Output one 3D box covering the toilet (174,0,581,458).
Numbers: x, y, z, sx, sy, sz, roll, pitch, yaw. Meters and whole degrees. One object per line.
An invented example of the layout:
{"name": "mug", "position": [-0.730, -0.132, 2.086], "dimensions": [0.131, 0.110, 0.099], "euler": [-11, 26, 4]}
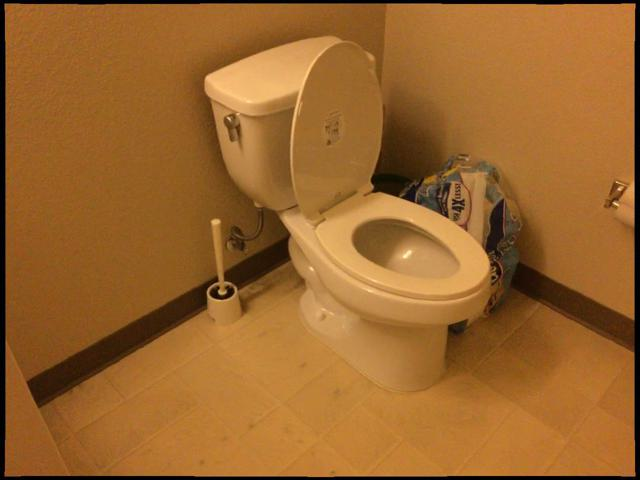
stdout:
{"name": "toilet", "position": [0.090, -0.070, 1.580], "dimensions": [0.490, 0.871, 0.810], "euler": [-29, 47, -33]}
